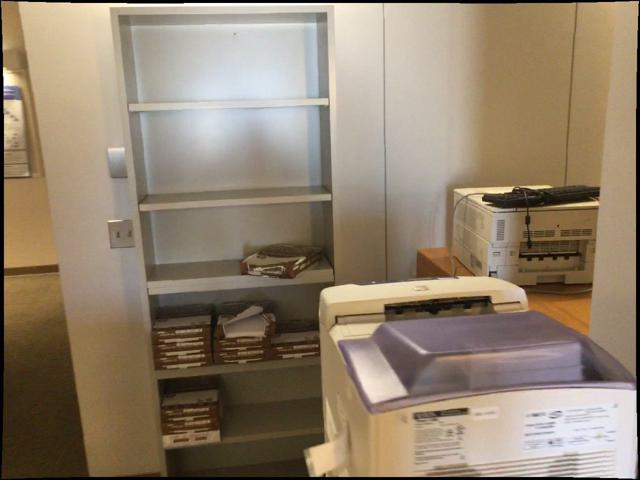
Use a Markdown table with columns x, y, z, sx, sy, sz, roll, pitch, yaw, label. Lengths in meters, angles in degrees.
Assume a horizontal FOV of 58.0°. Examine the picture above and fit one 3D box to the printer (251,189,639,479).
| x | y | z | sx | sy | sz | roll | pitch | yaw | label |
| --- | --- | --- | --- | --- | --- | --- | --- | --- | --- |
| 0.209 | 0.361 | 1.140 | 0.489 | 0.611 | 0.580 | 15 | 28 | -19 | printer |
